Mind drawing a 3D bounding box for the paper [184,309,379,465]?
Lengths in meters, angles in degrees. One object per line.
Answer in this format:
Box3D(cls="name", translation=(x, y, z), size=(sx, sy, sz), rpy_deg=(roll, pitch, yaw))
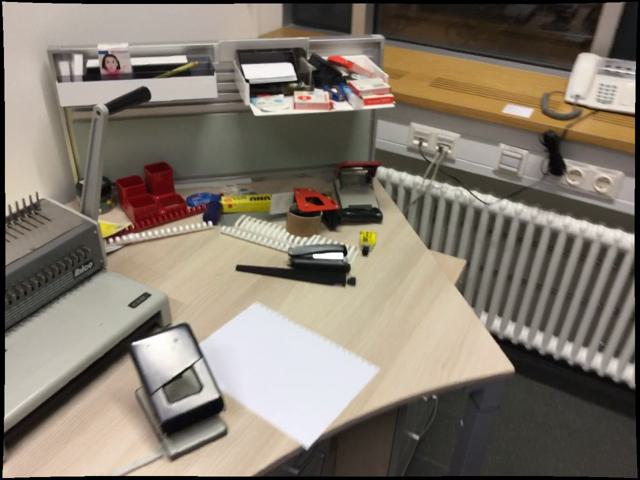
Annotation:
Box3D(cls="paper", translation=(-0.060, 0.240, 1.010), size=(0.260, 0.030, 0.230), rpy_deg=(16, 37, 19))
